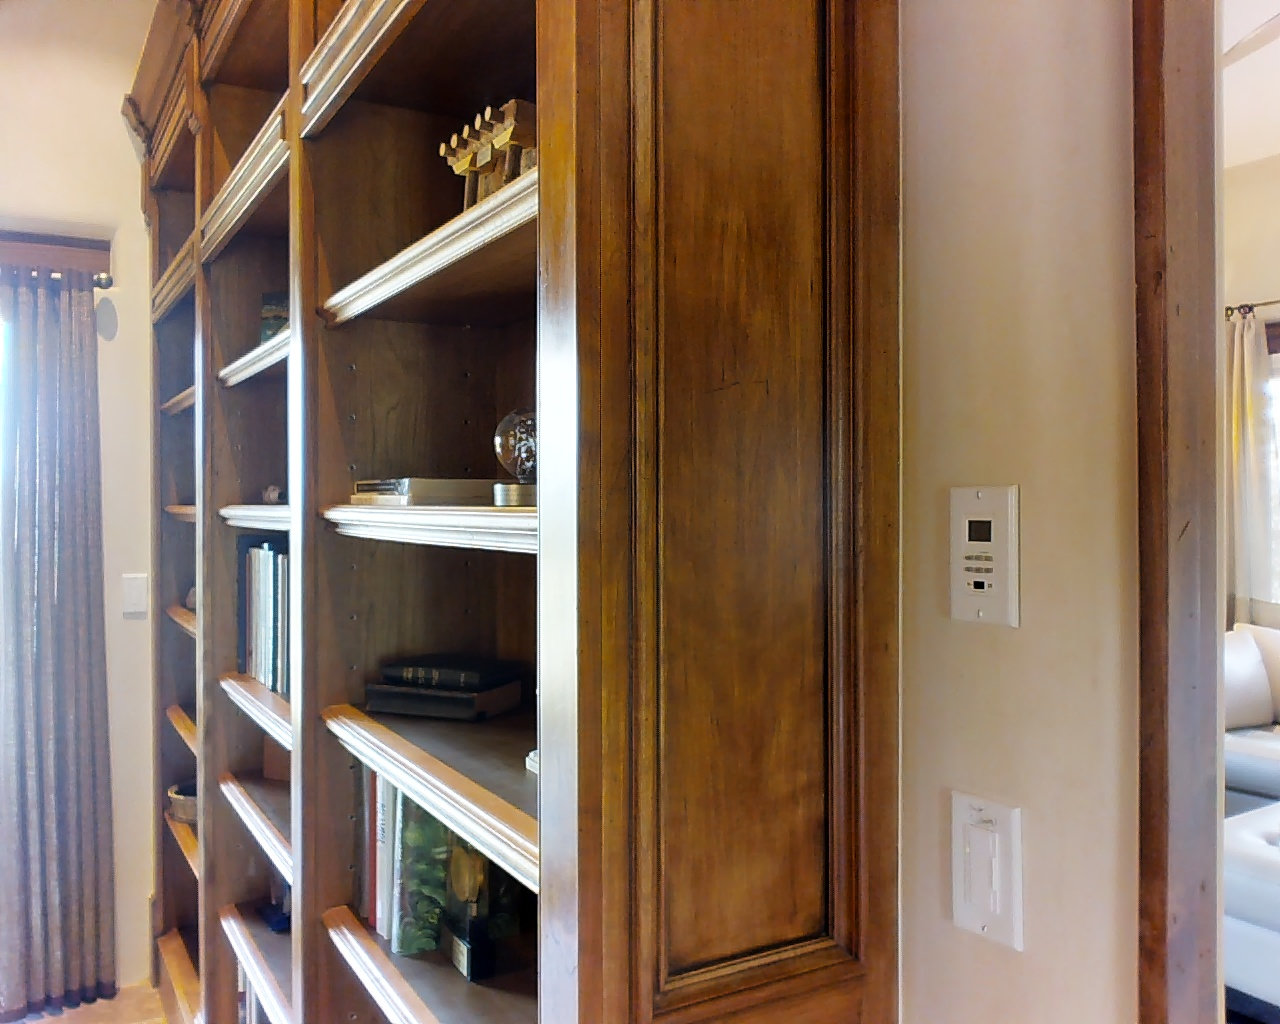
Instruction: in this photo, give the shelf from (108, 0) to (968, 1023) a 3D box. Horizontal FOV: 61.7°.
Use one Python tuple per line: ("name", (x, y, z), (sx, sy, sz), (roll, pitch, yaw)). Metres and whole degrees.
("shelf", (-0.630, 0.100, 2.100), (0.520, 2.641, 2.810), (0, 0, -31))
